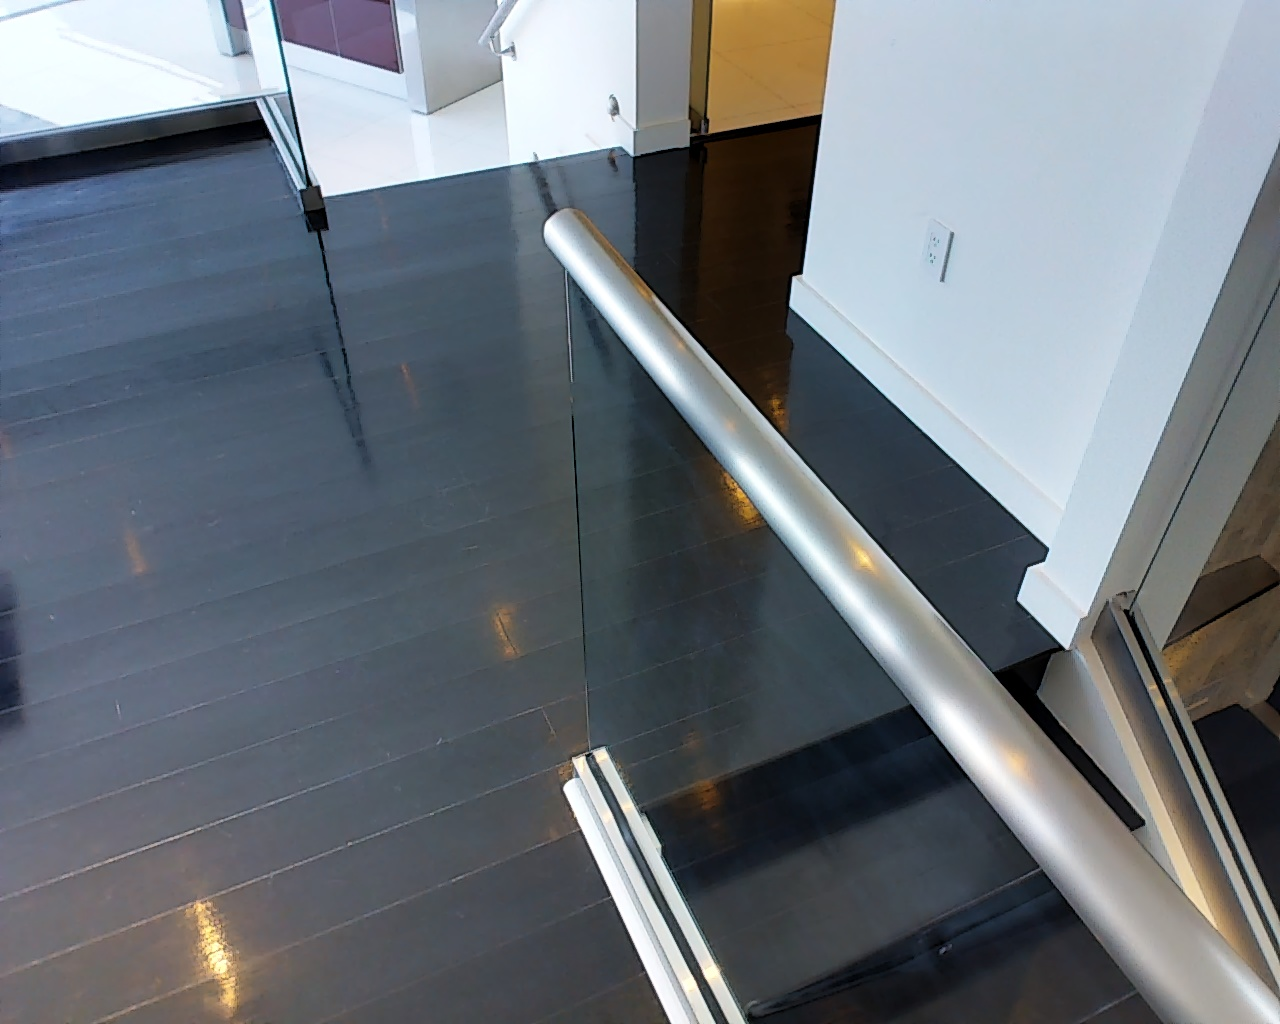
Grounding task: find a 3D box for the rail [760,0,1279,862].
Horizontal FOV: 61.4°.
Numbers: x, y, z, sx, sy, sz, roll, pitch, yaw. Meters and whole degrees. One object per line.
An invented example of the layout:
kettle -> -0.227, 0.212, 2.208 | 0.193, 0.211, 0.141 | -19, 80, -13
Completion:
rail -> 0.880, -0.210, 1.720 | 0.180, 1.110, 2.330 | -16, 45, -18
